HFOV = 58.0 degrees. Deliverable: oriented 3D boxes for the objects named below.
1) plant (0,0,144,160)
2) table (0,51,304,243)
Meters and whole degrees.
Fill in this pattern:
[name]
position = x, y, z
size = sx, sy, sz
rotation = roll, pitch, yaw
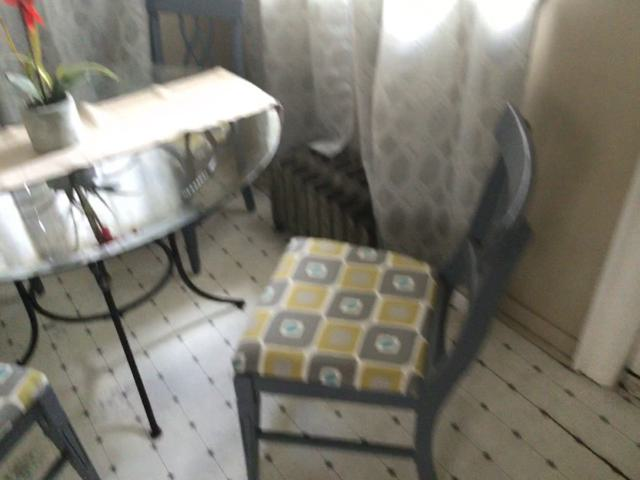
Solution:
[plant]
position = -0.630, -0.470, 1.370
size = 0.260, 0.460, 0.200
rotation = -26, 41, -30
[table]
position = -0.640, -0.240, 1.490
size = 1.180, 0.150, 0.420
rotation = -26, 41, -30
